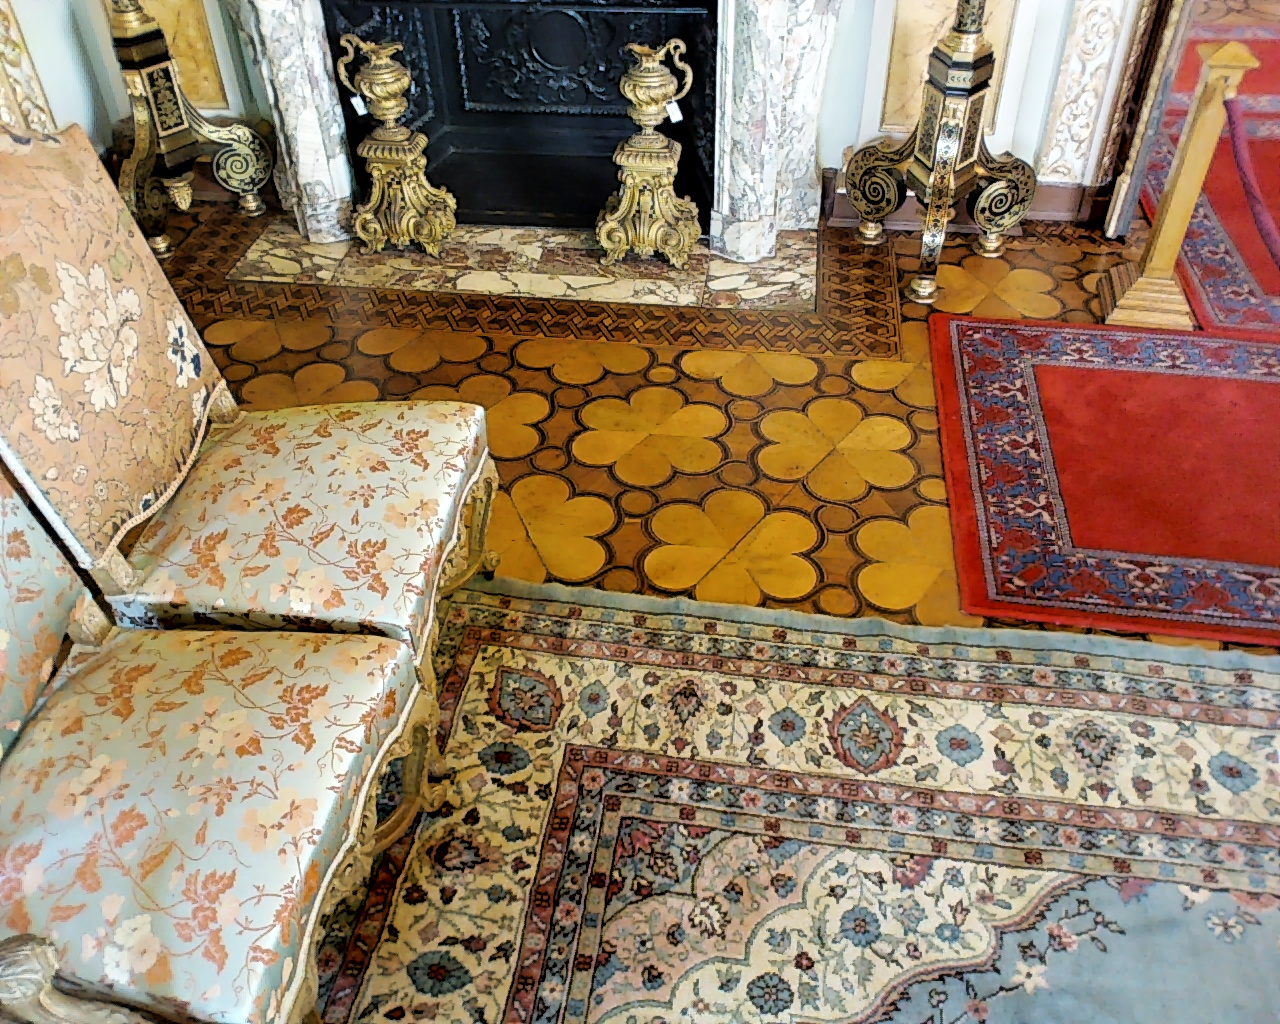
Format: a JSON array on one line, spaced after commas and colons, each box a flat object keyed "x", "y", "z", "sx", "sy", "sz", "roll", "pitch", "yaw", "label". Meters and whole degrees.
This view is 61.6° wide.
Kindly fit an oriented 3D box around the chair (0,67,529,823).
[{"x": -0.660, "y": -0.080, "z": 1.900, "sx": 0.710, "sy": 1.150, "sz": 0.620, "roll": 4, "pitch": 42, "yaw": 7, "label": "chair"}]

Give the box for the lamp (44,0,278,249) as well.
[{"x": -1.600, "y": -1.860, "z": 3.210, "sx": 0.390, "sy": 2.140, "sz": 0.370, "roll": 4, "pitch": 42, "yaw": 7, "label": "lamp"}]

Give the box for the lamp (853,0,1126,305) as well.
[{"x": 0.950, "y": -1.600, "z": 2.760, "sx": 0.560, "sy": 2.070, "sz": 0.570, "roll": 4, "pitch": 42, "yaw": 7, "label": "lamp"}]

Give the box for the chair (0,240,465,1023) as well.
[{"x": -0.740, "y": 0.290, "z": 1.460, "sx": 0.730, "sy": 1.130, "sz": 0.590, "roll": 4, "pitch": 42, "yaw": 7, "label": "chair"}]
